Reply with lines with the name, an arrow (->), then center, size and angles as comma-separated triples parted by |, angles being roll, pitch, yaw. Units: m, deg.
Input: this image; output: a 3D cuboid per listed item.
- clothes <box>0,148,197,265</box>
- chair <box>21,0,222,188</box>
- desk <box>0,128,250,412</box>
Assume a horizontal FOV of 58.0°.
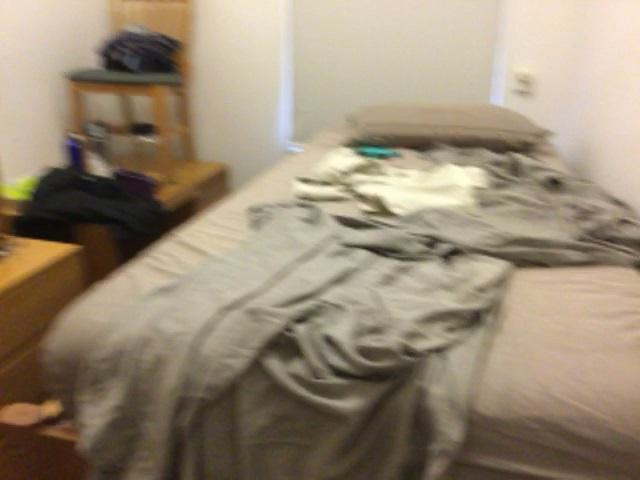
clothes -> -0.920, -0.170, 2.350 | 0.570, 0.250, 0.700 | 4, 21, 12
chair -> -0.880, -0.780, 2.740 | 0.550, 0.880, 0.690 | 4, 21, 12
desk -> -0.910, 0.030, 2.740 | 0.760, 0.890, 1.180 | 4, 21, 12
